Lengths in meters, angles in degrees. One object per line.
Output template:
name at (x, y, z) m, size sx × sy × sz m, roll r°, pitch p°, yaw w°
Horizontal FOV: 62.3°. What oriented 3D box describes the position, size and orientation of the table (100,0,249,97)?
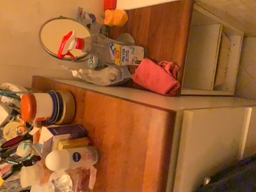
table at (0.230, -0.180, 1.000) m, size 0.410 × 0.560 × 0.300 m, roll 14°, pitch 100°, yaw 45°
